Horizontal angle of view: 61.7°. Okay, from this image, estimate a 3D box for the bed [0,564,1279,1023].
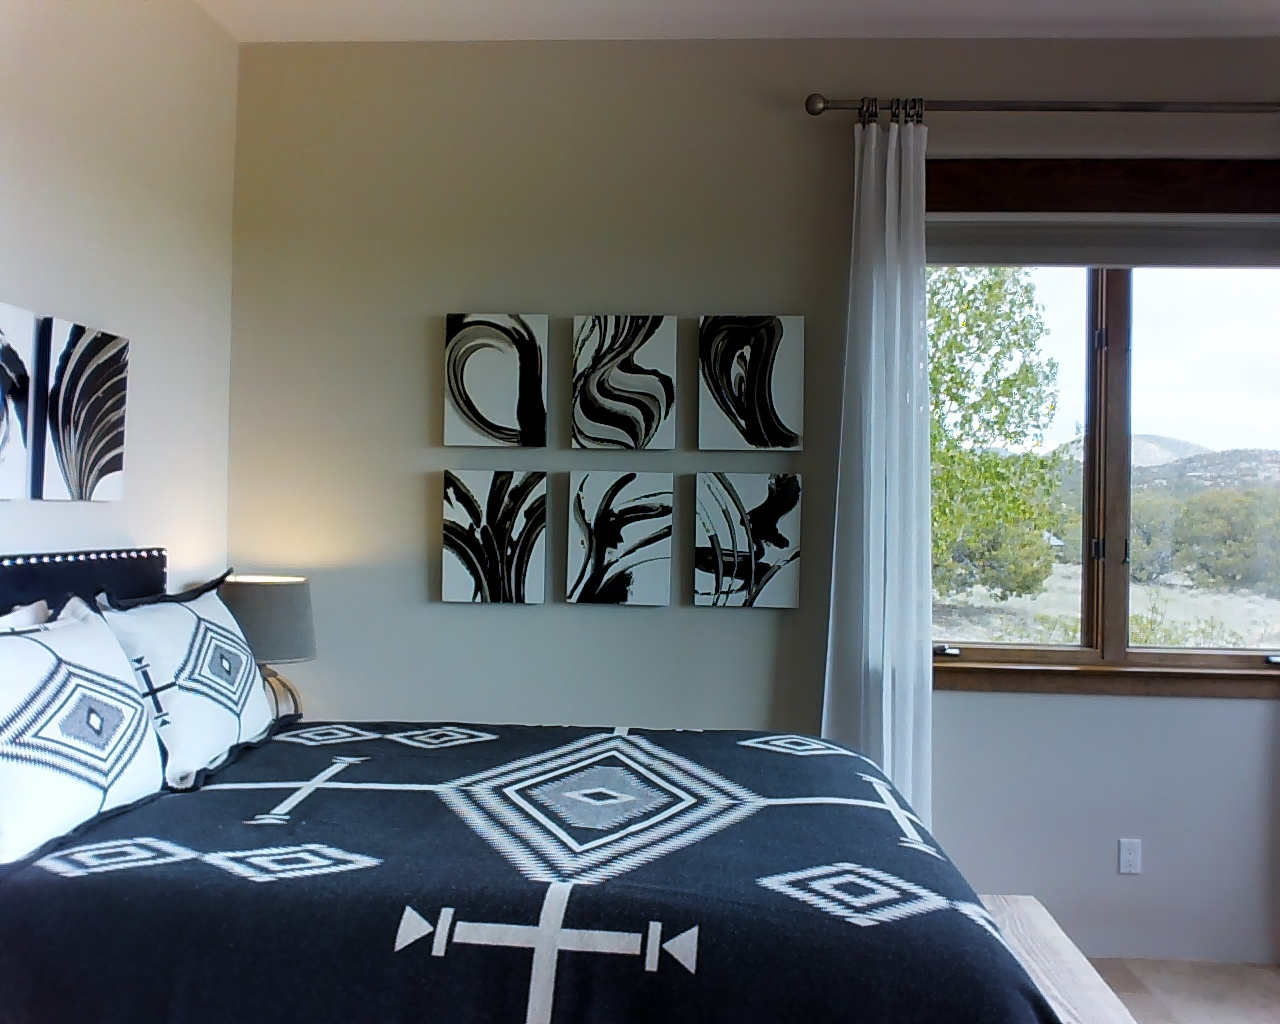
[{"bbox_3d":[-0.350,0.800,2.260,2.289,1.250,2.040,1,0,3],"label":"bed"}]
